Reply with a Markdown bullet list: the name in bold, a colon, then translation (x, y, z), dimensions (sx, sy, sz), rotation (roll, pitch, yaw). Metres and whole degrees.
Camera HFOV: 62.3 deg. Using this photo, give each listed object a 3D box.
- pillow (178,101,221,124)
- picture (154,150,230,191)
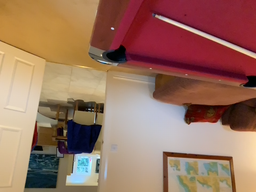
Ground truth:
- **pillow**: translation (1.030, 0.250, 3.090), dimensions (0.490, 0.240, 0.300), rotation (5, 163, -8)
- **picture**: translation (0.900, 1.210, 2.910), dimensions (1.140, 0.840, 0.110), rotation (8, 163, -19)
